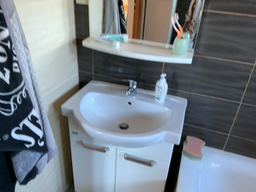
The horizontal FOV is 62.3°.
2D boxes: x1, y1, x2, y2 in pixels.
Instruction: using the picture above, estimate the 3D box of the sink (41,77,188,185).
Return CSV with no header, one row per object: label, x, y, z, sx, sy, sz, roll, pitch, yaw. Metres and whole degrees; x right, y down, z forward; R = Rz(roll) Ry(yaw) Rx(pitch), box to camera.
sink,-0.040,0.140,1.190,0.660,0.210,0.470,13,31,14
